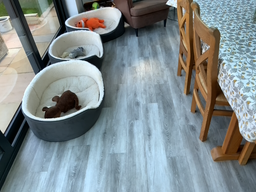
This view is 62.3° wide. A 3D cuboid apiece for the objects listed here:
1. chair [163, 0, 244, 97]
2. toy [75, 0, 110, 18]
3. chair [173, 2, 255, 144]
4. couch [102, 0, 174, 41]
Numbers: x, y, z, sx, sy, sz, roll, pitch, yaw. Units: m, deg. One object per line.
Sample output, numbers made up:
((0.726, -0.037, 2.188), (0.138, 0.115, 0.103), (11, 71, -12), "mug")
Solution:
((0.620, -0.500, 1.980), (0.490, 0.940, 0.430), (-4, 42, 2), "chair")
((-0.610, -1.580, 3.760), (0.530, 0.200, 0.420), (-1, 41, 5), "toy")
((0.630, -0.110, 1.540), (0.490, 0.930, 0.430), (-2, 42, 4), "chair")
((0.110, -1.580, 3.270), (0.780, 0.980, 0.930), (-22, 44, -18), "couch")
